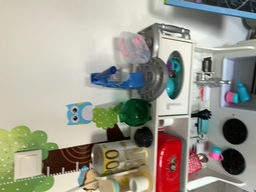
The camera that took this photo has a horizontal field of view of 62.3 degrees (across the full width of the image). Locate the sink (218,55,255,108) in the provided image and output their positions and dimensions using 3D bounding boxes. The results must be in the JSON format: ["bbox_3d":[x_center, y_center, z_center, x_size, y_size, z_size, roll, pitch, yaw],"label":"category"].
[{"bbox_3d":[0.520,-0.070,0.970,0.180,0.060,0.220,11,100,57],"label":"sink"}]
